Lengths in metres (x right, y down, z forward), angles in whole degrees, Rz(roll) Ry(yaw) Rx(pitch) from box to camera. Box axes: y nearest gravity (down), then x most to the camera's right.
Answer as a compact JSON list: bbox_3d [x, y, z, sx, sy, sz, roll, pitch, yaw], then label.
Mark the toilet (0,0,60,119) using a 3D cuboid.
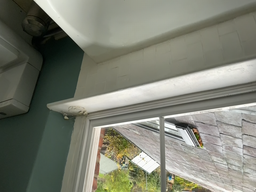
[{"bbox_3d":[-0.950,-0.340,1.490,0.450,0.800,0.600,-12,147,26],"label":"toilet"}]
